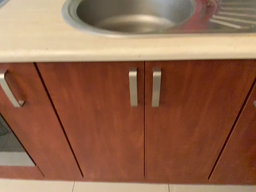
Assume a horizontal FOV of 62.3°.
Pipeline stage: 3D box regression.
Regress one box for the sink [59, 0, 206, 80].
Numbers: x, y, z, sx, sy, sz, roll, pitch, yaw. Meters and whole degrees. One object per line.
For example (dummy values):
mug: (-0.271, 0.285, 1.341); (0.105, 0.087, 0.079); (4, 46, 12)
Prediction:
sink: (0.020, -0.250, 0.790); (0.410, 0.170, 0.390); (0, 44, 3)
